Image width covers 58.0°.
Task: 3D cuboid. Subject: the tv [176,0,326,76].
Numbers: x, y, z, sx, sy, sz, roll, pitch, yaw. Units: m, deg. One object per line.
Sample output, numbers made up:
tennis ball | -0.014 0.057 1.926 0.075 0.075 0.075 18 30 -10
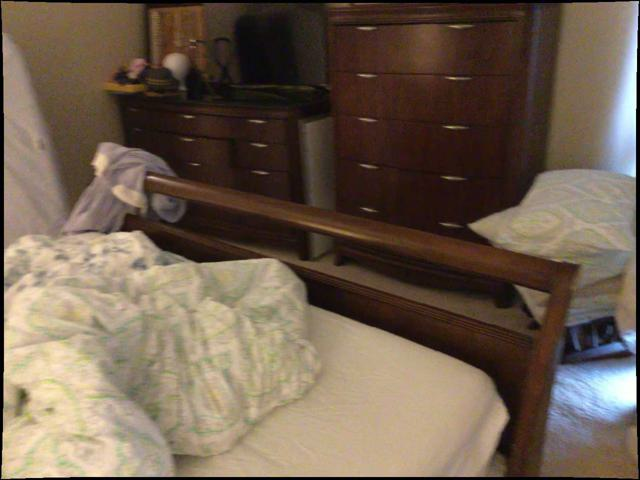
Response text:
tv | -0.429 -1.333 3.560 0.858 0.581 0.270 7 27 22

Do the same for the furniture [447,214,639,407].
furniture | 0.958 0.251 2.430 0.649 0.461 0.520 15 31 36

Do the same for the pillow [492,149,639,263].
pillow | 1.038 -0.170 2.290 0.489 0.160 0.670 12 30 31

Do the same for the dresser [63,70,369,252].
dresser | -0.688 -0.621 3.970 1.876 0.942 0.740 8 28 25
